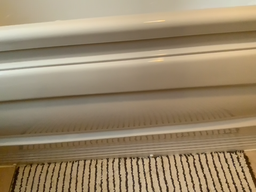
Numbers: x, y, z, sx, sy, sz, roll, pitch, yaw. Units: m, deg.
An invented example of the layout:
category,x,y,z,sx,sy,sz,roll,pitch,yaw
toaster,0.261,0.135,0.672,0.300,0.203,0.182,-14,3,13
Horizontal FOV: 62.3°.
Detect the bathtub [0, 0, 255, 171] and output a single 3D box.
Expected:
category,x,y,z,sx,sy,sz,roll,pitch,yaw
bathtub,-0.120,-0.200,0.760,1.710,0.540,0.710,-4,51,1
